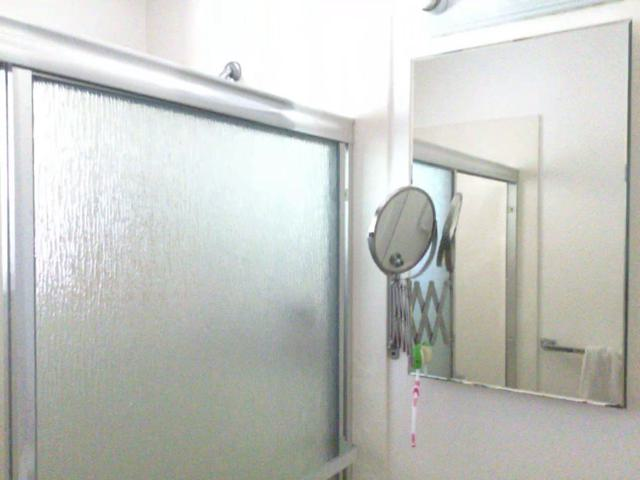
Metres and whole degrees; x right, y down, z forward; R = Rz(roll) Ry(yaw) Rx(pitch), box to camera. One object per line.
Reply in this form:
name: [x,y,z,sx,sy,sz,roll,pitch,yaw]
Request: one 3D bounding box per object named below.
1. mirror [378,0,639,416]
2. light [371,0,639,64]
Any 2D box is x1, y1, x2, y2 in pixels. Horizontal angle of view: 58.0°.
mirror: [0.330,-0.070,1.090,0.480,0.700,0.060,0,0,37]
light: [0.320,-0.450,1.040,0.450,0.150,0.140,0,0,37]
